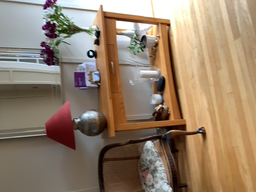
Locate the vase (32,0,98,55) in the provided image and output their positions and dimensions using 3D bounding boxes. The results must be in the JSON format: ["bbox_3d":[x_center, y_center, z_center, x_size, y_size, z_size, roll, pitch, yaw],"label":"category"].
[{"bbox_3d":[-0.590,-0.680,1.960,0.310,0.530,0.470,144,121,-64],"label":"vase"}]

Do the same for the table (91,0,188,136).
[{"bbox_3d":[0.080,-0.250,2.090,0.370,0.750,1.180,149,117,-65],"label":"table"}]
